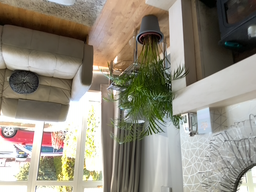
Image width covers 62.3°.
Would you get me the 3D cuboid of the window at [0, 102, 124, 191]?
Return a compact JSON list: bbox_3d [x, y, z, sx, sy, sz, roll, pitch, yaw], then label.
[{"bbox_3d":[-1.970,0.810,3.020,3.940,1.390,0.450,8,162,-23],"label":"window"}]
